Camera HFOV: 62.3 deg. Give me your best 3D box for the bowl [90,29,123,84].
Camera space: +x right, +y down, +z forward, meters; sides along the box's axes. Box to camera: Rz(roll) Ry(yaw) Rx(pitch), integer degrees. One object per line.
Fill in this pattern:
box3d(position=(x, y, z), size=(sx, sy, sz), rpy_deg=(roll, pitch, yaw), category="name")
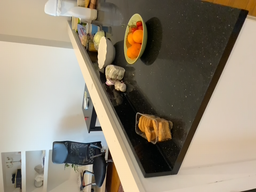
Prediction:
box3d(position=(-0.170, -0.290, 1.500), size=(0.400, 0.100, 0.250), rpy_deg=(-123, 41, -54), category="bowl")
